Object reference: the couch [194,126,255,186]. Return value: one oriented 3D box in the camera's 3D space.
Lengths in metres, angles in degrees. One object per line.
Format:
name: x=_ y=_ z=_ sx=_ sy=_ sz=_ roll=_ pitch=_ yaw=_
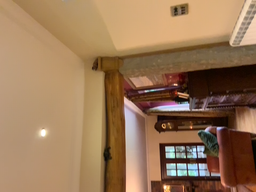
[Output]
couch: x=1.990 y=1.220 z=4.470 sx=1.750 sy=0.990 sz=0.960 roll=42 pitch=-135 yaw=-70
